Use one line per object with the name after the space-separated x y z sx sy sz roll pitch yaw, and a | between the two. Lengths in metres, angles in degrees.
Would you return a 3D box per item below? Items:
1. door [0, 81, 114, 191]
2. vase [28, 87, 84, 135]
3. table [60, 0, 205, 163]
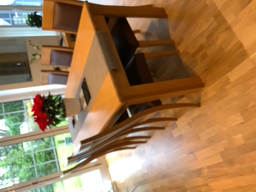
-1.590 0.900 3.970 0.160 2.100 2.370 -51 54 56 | door
-0.750 0.150 2.190 0.320 0.460 0.330 -48 57 57 | vase
-0.200 0.010 2.420 1.840 0.770 0.930 -53 52 55 | table
